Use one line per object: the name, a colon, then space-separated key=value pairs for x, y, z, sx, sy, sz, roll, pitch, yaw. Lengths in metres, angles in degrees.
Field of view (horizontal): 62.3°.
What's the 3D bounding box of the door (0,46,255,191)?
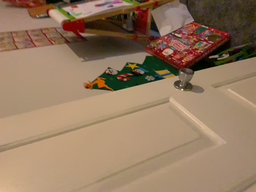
door: x=0.180 y=0.150 z=0.470 sx=0.770 sy=1.960 sz=0.070 roll=46 pitch=142 yaw=45
